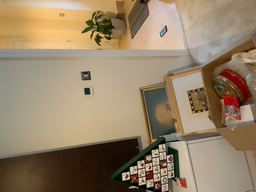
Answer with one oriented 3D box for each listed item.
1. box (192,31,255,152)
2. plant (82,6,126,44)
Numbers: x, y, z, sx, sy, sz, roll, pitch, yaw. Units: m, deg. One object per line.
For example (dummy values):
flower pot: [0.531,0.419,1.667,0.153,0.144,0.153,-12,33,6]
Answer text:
box: [0.830,0.000,1.390,0.730,0.300,0.670,148,116,-67]
plant: [-0.460,-1.290,3.930,0.430,0.710,0.590,-144,53,-64]
